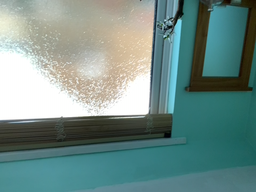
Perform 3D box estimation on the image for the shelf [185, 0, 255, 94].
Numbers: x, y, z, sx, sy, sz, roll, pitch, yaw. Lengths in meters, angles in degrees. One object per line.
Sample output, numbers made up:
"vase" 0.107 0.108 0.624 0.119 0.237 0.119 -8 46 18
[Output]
"shelf" 0.560 -0.310 1.150 0.400 0.570 0.170 -1 -166 -16
